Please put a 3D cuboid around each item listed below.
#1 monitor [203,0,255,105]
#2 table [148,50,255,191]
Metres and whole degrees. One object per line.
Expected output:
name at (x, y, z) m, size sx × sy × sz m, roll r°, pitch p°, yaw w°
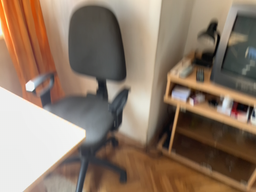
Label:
monitor at (0.820, -0.290, 1.220) m, size 0.540 × 0.540 × 0.470 m, roll 18°, pitch 38°, yaw 22°
table at (0.710, 0.160, 1.650) m, size 0.900 × 0.690 × 0.560 m, roll 19°, pitch 38°, yaw 24°
